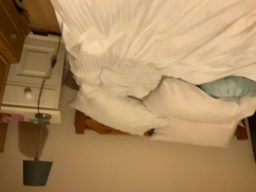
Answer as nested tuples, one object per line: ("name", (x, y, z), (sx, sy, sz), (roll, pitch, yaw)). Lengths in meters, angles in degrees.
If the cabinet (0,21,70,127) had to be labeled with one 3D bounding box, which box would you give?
("cabinet", (-0.730, -0.150, 1.740), (0.380, 0.700, 0.420), (8, 160, -17))
